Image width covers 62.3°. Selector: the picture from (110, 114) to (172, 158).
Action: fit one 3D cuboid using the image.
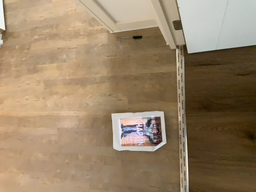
[{"bbox_3d":[0.060,0.200,1.100,0.320,0.030,0.210,-2,86,18],"label":"picture"}]
